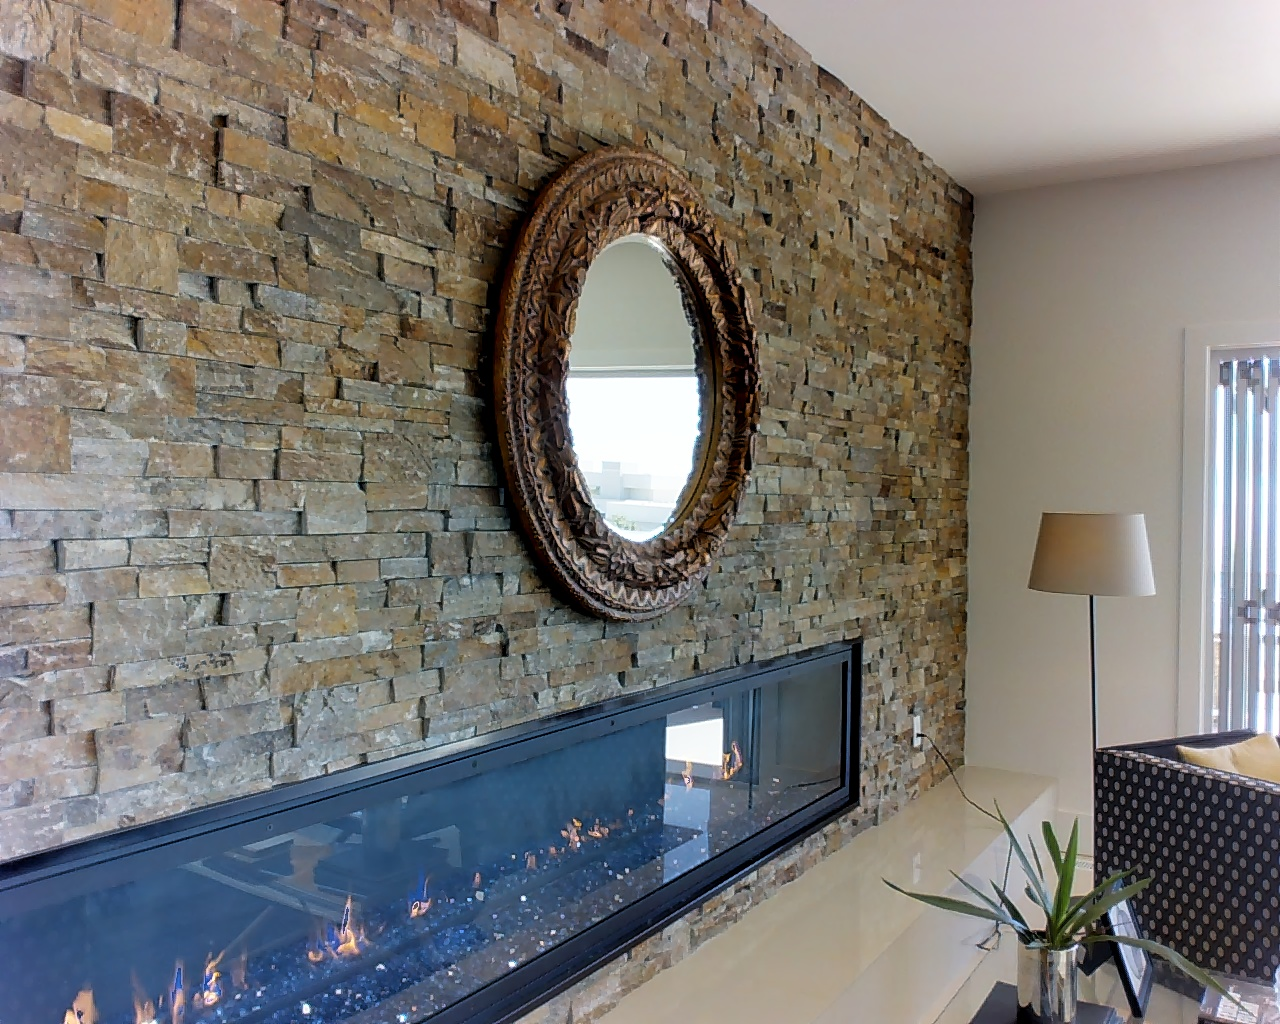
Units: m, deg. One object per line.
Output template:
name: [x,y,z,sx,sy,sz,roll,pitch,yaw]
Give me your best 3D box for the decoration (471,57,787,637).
decoration: [0.040,-0.320,2.620,0.130,1.130,1.170,1,0,33]
